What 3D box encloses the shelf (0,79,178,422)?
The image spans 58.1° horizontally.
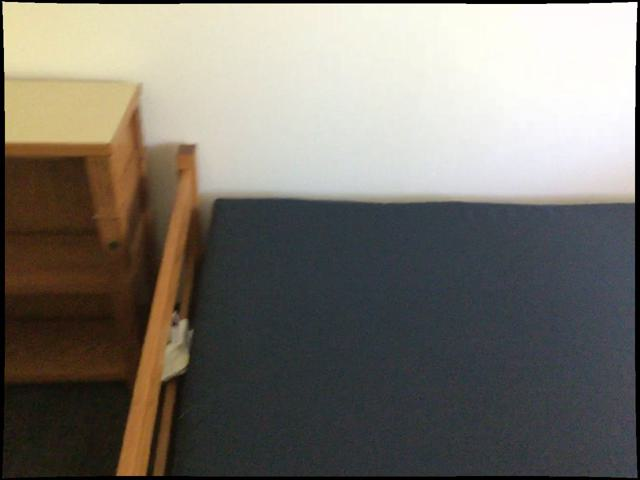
[{"bbox_3d":[-0.838,0.050,1.420,0.838,0.781,0.380,1,38,-4],"label":"shelf"}]
